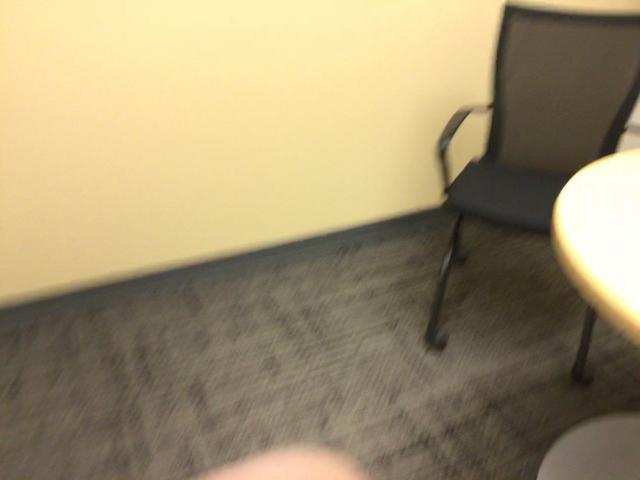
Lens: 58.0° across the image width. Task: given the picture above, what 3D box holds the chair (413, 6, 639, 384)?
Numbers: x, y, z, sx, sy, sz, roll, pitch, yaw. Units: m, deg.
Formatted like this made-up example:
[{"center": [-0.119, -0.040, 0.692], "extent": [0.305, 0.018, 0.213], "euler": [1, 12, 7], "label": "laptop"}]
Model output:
[{"center": [0.670, -0.180, 1.690], "extent": [0.610, 0.860, 0.610], "euler": [10, 31, 20], "label": "chair"}]
